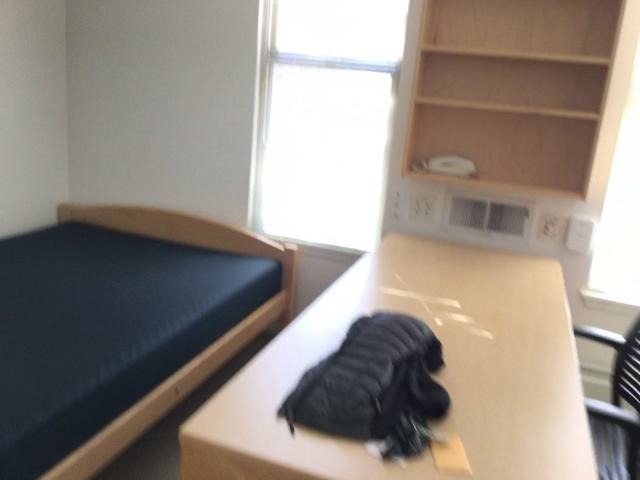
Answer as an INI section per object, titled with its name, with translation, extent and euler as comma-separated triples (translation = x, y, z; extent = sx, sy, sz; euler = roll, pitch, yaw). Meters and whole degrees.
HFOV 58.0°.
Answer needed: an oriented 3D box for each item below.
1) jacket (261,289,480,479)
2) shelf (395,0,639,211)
[jacket]
translation = 0.150, 0.280, 1.310
extent = 0.340, 0.130, 0.560
euler = 10, 14, 19
[shelf]
translation = 0.800, -0.750, 2.340
extent = 0.820, 1.130, 0.270
euler = 10, 14, 20
